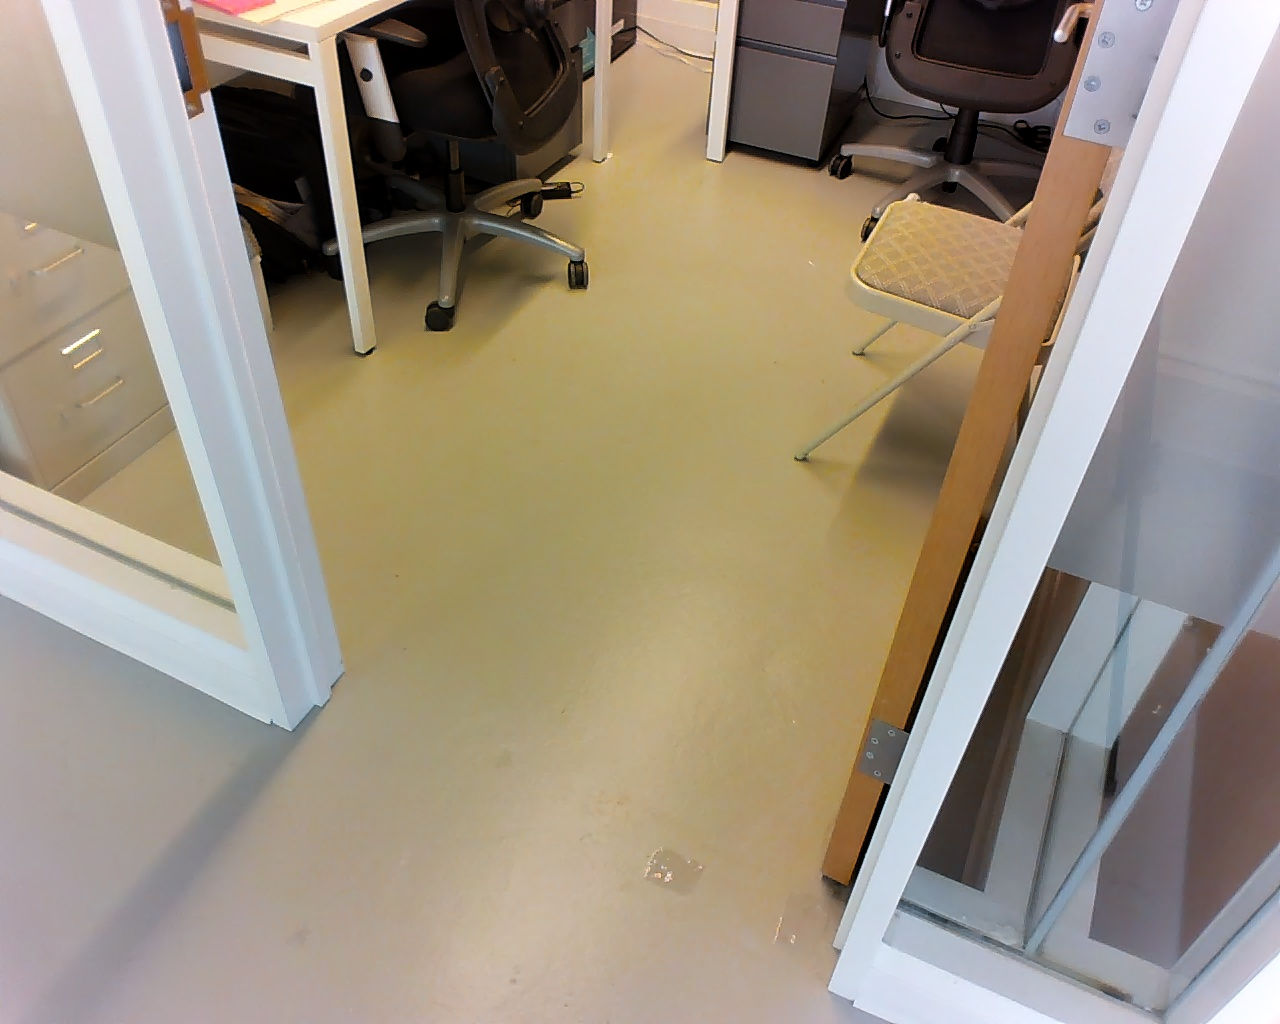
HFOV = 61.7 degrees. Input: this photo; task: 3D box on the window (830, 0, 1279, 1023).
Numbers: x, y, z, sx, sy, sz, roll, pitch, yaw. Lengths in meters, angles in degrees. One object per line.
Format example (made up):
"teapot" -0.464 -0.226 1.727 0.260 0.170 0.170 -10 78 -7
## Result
"window" 0.550 -0.120 0.640 0.510 2.230 0.170 19 45 17
